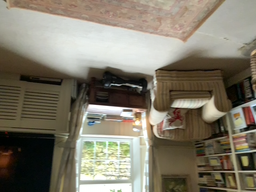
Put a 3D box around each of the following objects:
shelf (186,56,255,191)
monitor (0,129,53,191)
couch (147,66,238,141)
[{"bbox_3d":[1.520,0.830,2.880,0.290,2.330,1.850,6,160,-16],"label":"shelf"},{"bbox_3d":[-1.660,0.820,2.730,1.220,0.760,0.080,6,160,-17],"label":"monitor"},{"bbox_3d":[0.820,0.170,3.140,1.010,0.870,0.960,0,161,1],"label":"couch"}]
